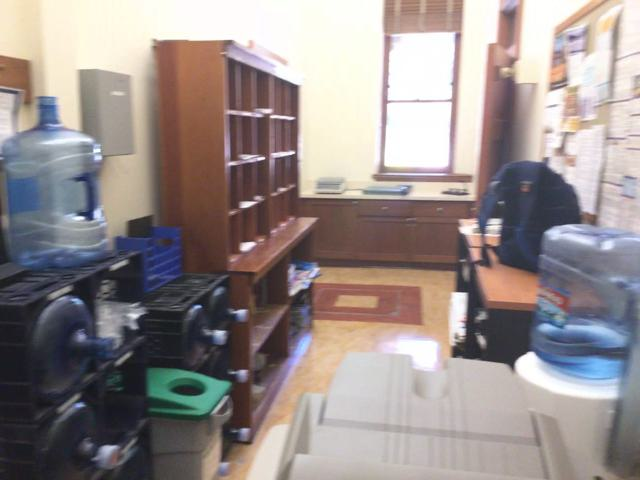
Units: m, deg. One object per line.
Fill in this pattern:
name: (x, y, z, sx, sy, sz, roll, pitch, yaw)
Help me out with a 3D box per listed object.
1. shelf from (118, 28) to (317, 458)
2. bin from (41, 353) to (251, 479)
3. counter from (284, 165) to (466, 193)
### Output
shelf: (-0.450, -0.110, 3.590, 0.520, 2.020, 1.880, 0, 13, 9)
bin: (-0.600, 0.850, 2.140, 0.590, 0.740, 0.370, 0, 13, 9)
counter: (0.610, -0.690, 6.500, 1.940, 0.220, 0.620, 0, 13, 9)
